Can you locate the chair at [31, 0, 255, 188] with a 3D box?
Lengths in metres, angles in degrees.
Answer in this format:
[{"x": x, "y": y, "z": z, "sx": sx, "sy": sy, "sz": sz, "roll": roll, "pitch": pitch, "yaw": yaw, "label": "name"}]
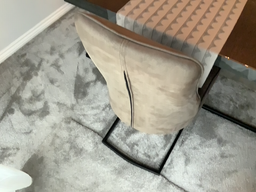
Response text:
[{"x": 0.100, "y": -0.070, "z": 0.990, "sx": 0.490, "sy": 0.940, "sz": 0.580, "roll": 32, "pitch": 61, "yaw": 18, "label": "chair"}]
